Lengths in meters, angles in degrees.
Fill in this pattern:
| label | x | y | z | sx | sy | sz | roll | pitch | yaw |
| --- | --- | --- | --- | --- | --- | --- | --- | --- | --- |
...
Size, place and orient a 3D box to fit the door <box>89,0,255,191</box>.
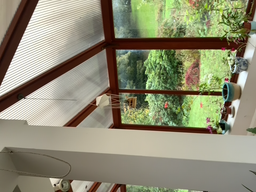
| label | x | y | z | sx | sy | sz | roll | pitch | yaw |
| --- | --- | --- | --- | --- | --- | --- | --- | --- | --- |
| door | 0.730 | 0.630 | 3.650 | 0.170 | 2.290 | 5.770 | -77 | -13 | -57 |
